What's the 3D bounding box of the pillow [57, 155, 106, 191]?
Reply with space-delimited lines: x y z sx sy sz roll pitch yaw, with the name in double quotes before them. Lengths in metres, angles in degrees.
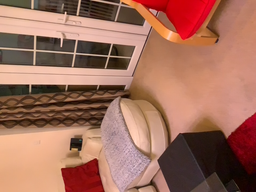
"pillow" -0.530 1.060 2.510 0.160 0.460 0.560 103 148 -66
